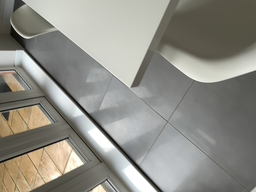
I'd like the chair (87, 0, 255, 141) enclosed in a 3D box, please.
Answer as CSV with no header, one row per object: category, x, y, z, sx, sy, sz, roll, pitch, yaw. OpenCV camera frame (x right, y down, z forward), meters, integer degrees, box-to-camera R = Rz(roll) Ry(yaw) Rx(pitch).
chair,0.420,-0.380,0.760,0.600,0.780,0.620,38,120,27
